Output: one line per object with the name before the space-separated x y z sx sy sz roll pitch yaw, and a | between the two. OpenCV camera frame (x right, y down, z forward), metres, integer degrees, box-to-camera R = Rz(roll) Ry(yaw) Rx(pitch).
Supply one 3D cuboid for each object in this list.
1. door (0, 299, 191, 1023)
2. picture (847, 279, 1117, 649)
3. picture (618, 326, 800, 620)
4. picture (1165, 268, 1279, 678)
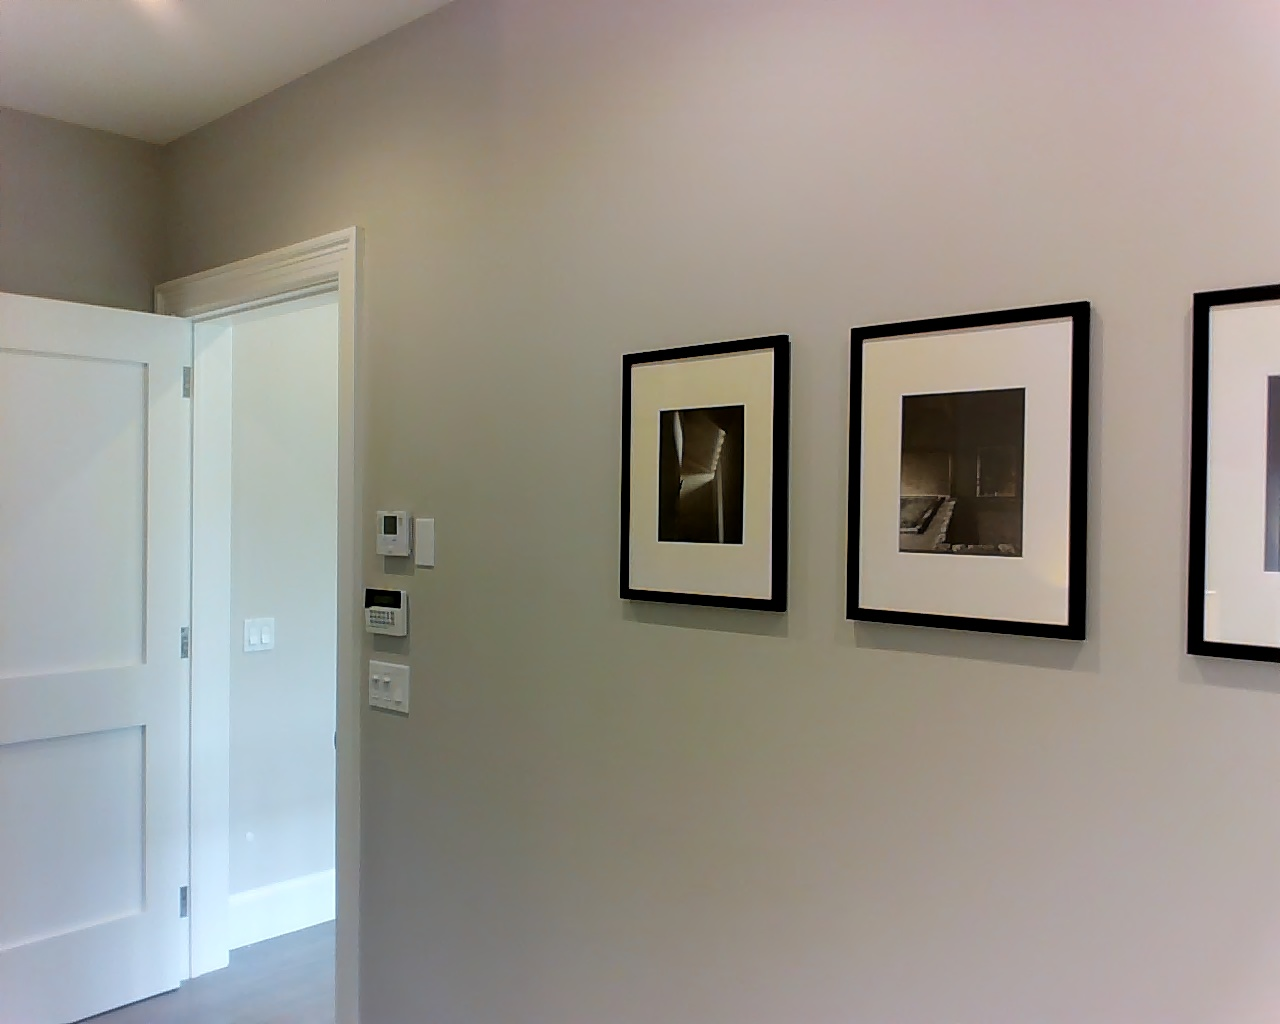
door | -1.770 0.460 3.120 0.050 2.120 0.900 0 0 42
picture | 0.520 -0.070 1.690 0.430 0.530 0.020 0 0 42
picture | 0.120 -0.070 2.050 0.420 0.520 0.020 0 0 42
picture | 0.900 -0.050 1.340 0.450 0.530 0.020 0 0 42
